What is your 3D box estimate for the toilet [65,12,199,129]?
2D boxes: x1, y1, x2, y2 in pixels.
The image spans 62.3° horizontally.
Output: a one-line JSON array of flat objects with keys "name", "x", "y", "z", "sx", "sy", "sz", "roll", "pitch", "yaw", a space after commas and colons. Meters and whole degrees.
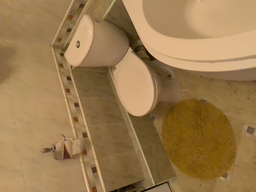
[{"name": "toilet", "x": 0.030, "y": -0.160, "z": 1.580, "sx": 0.380, "sy": 0.750, "sz": 0.630, "roll": -43, "pitch": 59, "yaw": 40}]
